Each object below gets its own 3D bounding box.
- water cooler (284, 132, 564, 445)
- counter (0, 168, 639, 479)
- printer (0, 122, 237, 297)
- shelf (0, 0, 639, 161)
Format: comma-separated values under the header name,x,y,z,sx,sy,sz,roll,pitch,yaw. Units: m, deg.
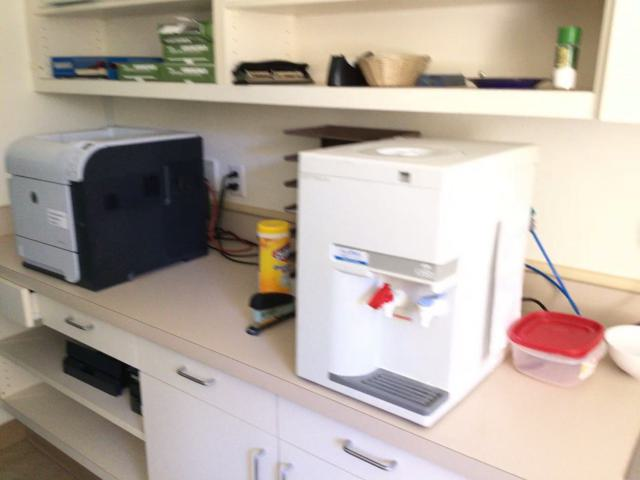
name,x,y,z,sx,sy,sz,roll,pitch,yaw
water cooler,0.210,0.040,1.150,0.340,0.450,0.450,14,20,35
counter,0.080,0.170,1.400,2.890,0.260,0.680,14,20,35
printer,-0.620,-0.140,1.840,0.440,0.410,0.550,14,20,35
shelf,-0.200,-0.750,1.520,1.960,0.810,0.460,14,20,35
